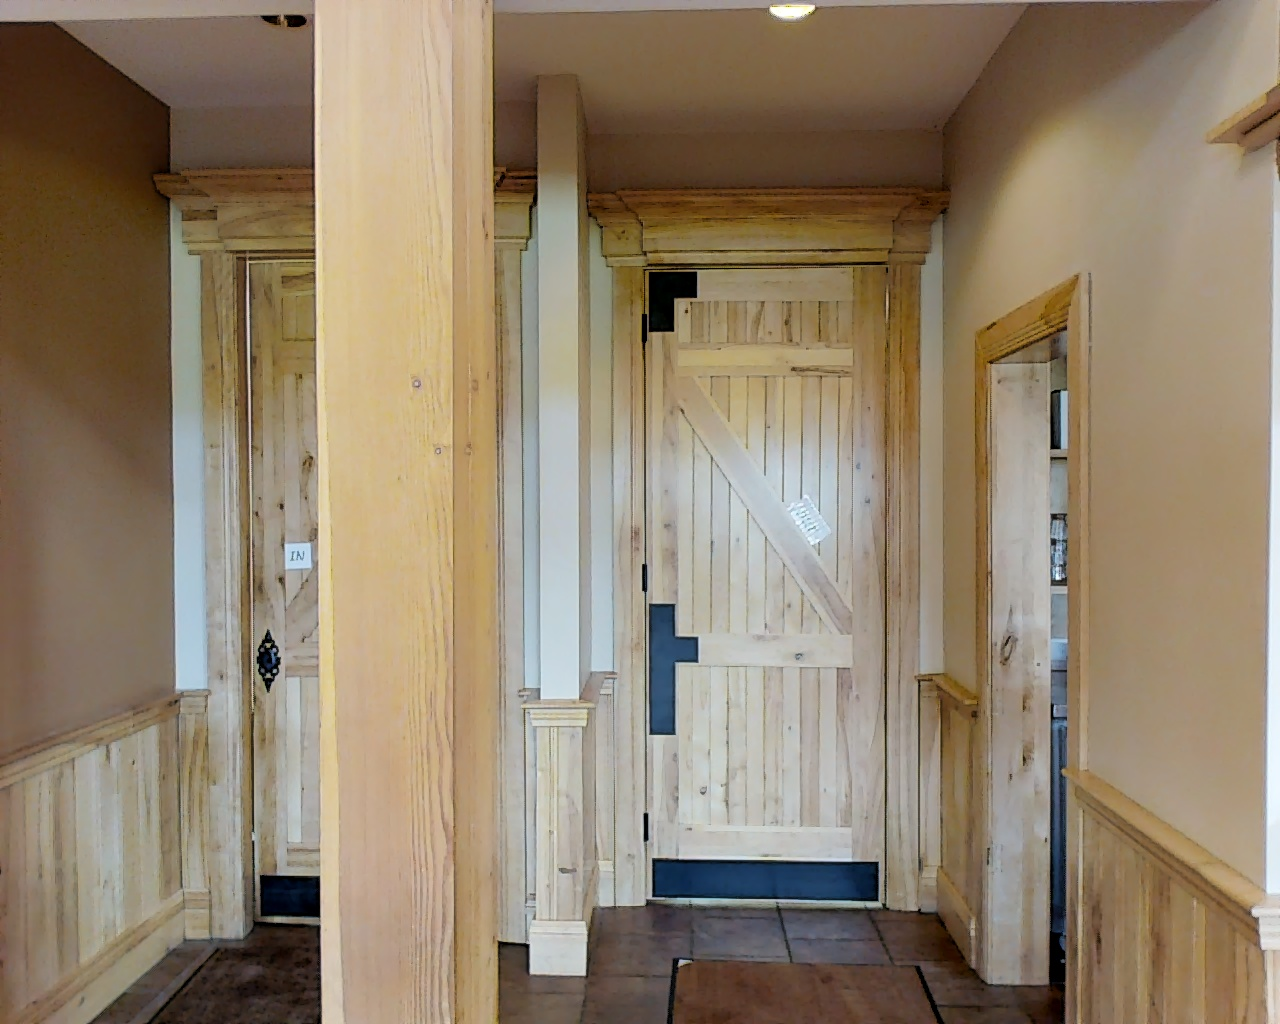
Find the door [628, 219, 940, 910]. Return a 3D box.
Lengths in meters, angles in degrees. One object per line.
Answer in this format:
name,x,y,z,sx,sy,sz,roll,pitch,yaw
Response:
door,0.540,0.200,4.090,1.170,2.590,0.100,0,1,2
